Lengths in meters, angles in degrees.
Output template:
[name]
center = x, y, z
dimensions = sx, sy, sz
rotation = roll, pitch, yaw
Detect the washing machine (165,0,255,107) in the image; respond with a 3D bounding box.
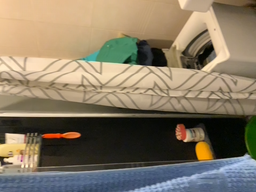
[washing machine]
center = 0.750, -0.240, 1.390
dimensions = 0.500, 0.810, 0.430
rotation = 116, 153, -58

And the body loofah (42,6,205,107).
[body loofah]
center = -0.050, -0.220, 1.420
dimensions = 0.430, 0.900, 0.410
rotation = 115, 154, -56
